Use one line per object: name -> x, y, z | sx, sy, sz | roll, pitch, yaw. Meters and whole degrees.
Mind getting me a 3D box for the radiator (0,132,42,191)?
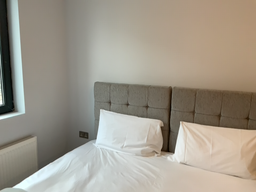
radiator -> -1.290, 0.770, 1.910 | 0.060, 0.530, 1.240 | 6, 11, 24
